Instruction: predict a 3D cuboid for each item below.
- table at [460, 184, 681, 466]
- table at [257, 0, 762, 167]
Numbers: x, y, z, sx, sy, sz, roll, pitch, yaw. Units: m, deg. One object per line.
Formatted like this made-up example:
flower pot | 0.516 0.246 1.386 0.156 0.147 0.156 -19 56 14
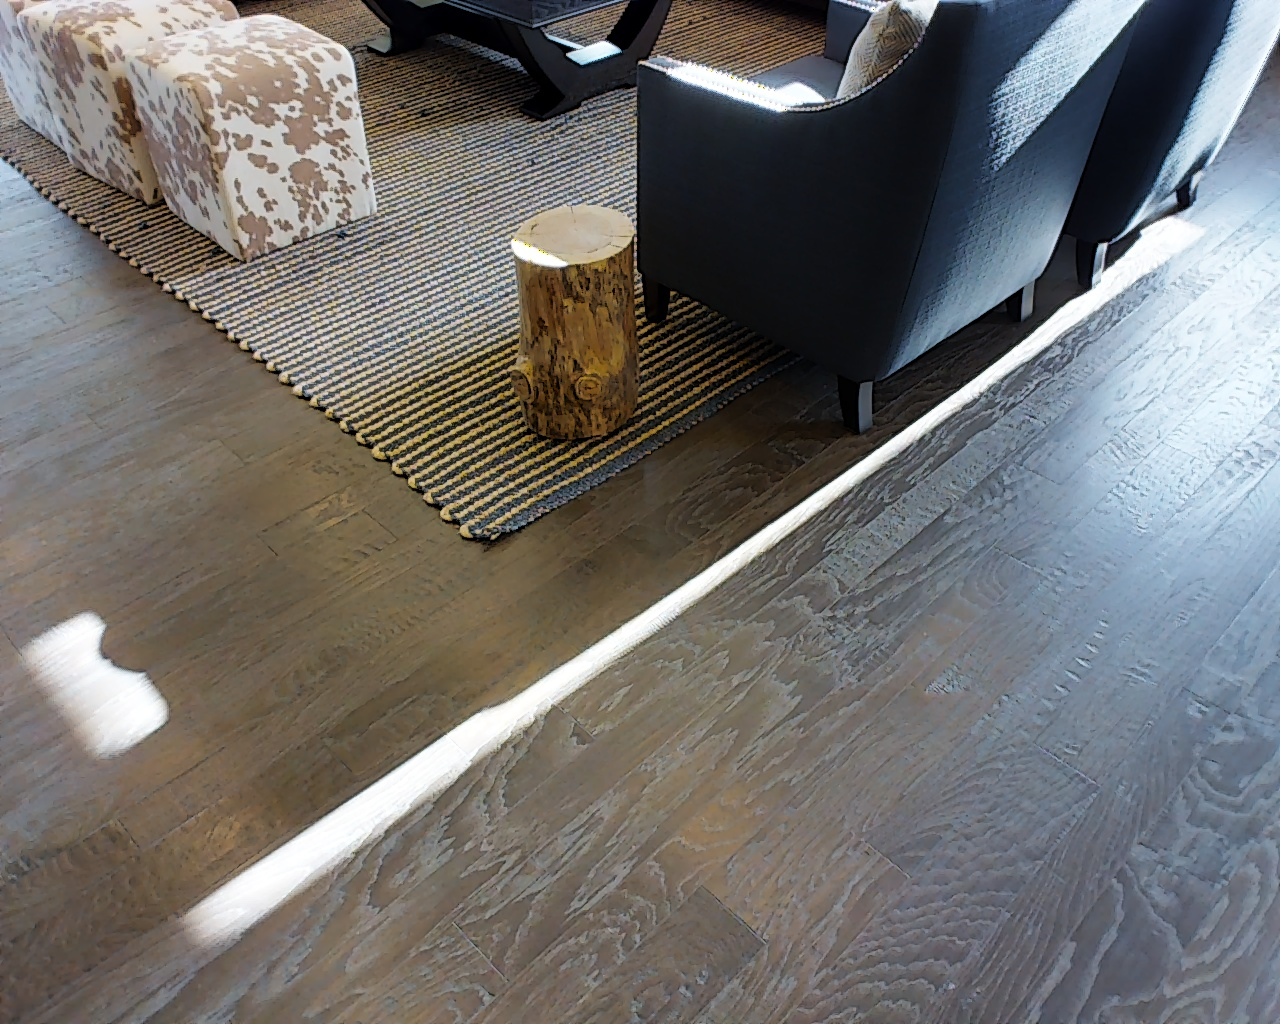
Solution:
table | -0.140 -0.400 2.270 0.310 0.420 0.320 -29 49 -29
table | -0.510 -1.890 3.890 1.550 0.510 1.100 33 51 32
